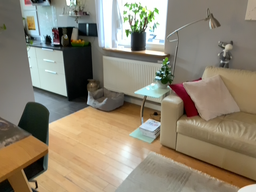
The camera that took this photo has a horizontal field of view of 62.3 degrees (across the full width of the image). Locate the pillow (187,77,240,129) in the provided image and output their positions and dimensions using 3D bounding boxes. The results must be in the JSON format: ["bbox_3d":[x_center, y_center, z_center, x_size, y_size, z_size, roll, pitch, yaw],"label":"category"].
[{"bbox_3d":[0.950,0.050,2.360,0.390,0.370,0.460,16,25,34],"label":"pillow"}]

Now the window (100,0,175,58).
[{"bbox_3d":[0.100,-1.420,3.200,1.240,1.540,0.150,14,24,32],"label":"window"}]
